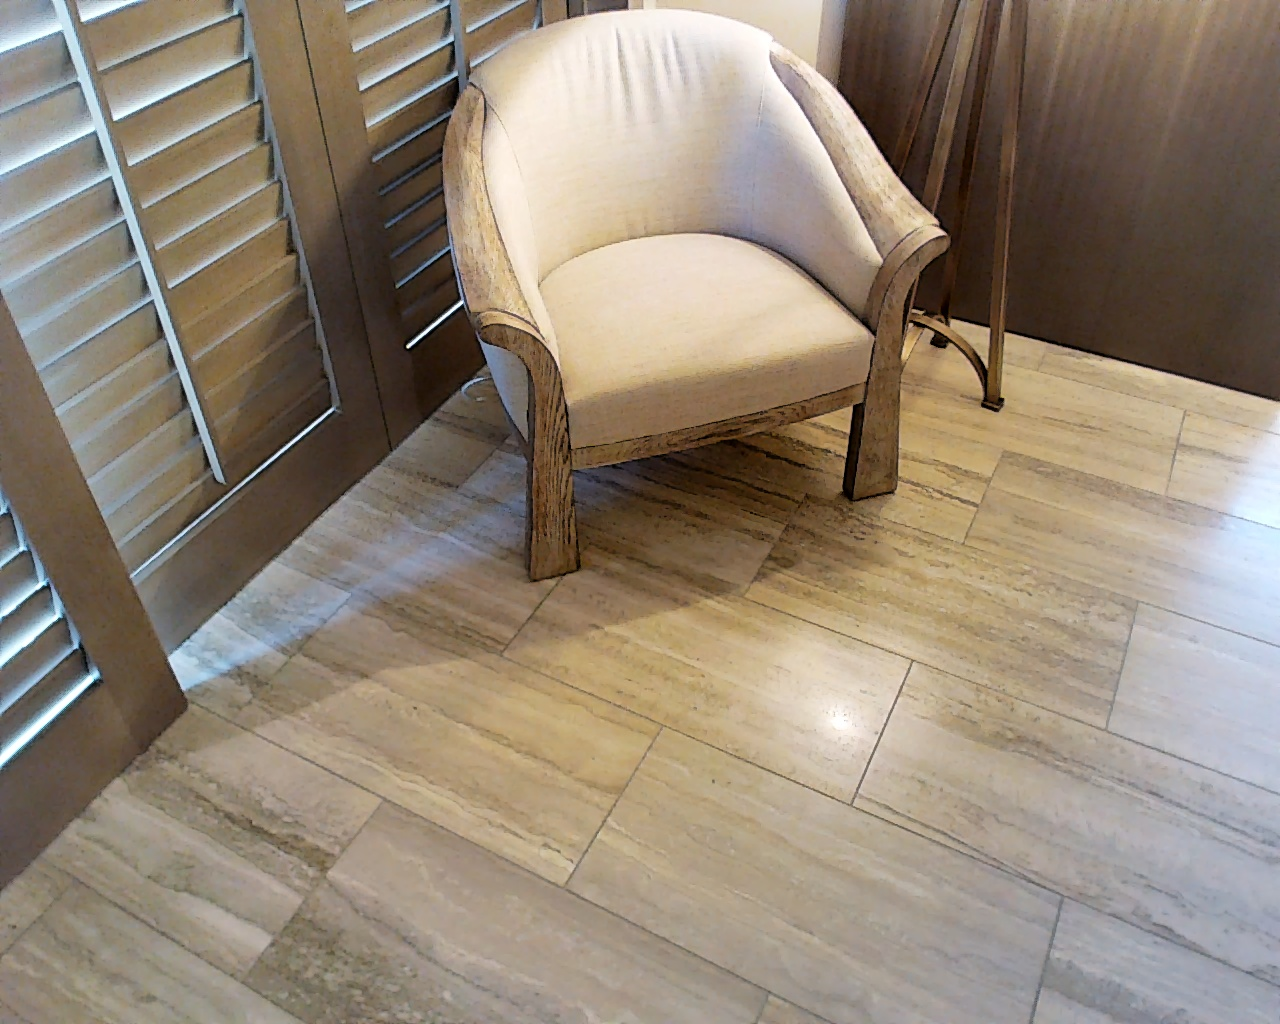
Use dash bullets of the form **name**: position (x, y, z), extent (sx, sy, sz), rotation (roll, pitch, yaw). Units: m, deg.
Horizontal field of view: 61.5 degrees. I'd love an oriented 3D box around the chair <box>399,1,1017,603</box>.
- **chair**: position (0.070, -0.420, 2.010), extent (0.820, 0.730, 0.710), rotation (-12, 43, -12)
